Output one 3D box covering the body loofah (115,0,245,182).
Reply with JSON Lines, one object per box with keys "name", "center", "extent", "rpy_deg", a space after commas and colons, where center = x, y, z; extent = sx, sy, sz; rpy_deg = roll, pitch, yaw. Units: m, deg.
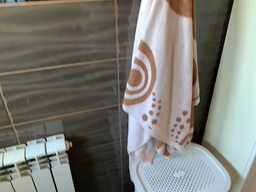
{"name": "body loofah", "center": [0.170, -0.110, 0.870], "extent": [0.400, 1.050, 0.190], "rpy_deg": [-8, 32, -13]}
